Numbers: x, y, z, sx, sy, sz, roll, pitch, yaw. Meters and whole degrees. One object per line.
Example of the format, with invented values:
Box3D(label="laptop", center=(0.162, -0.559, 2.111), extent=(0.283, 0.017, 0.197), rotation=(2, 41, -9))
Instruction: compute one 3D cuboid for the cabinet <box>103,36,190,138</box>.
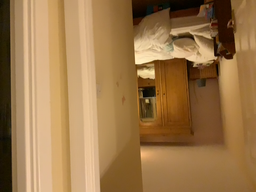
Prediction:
Box3D(label="cabinet", center=(0.440, -0.140, 5.060), extent=(1.870, 2.140, 0.670), rotation=(-4, 176, 16))
